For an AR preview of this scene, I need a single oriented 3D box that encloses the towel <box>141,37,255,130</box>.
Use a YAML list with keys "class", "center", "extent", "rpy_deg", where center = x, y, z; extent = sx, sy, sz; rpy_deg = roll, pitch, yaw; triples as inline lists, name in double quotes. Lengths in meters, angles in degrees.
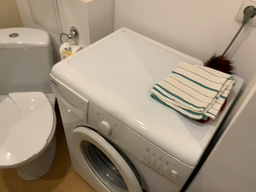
- class: "towel"
  center: [0.250, -0.070, 0.740]
  extent: [0.240, 0.060, 0.340]
  rpy_deg: [35, 53, 26]
